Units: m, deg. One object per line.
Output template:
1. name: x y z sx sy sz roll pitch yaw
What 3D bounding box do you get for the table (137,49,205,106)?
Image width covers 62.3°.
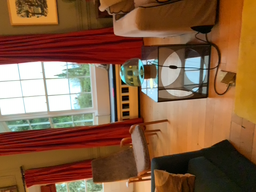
1. table: 0.380 -0.200 2.010 0.450 0.480 0.460 -141 48 -72
